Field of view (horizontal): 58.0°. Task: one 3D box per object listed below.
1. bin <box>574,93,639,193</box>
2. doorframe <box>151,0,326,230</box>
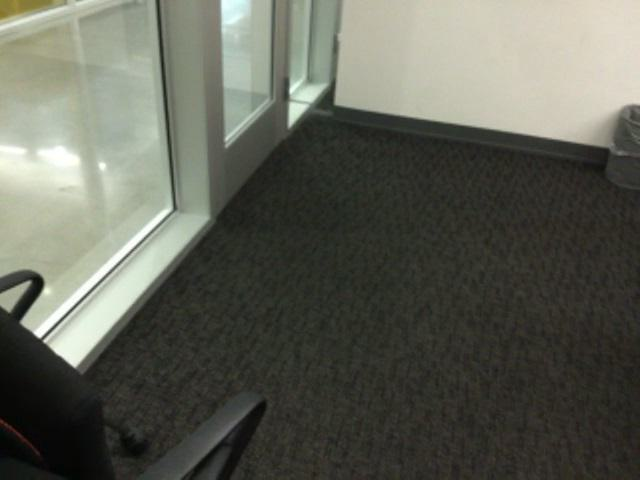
[{"bbox_3d":[1.480,-0.450,2.710,0.450,0.360,0.280,9,33,15],"label":"bin"},{"bbox_3d":[-0.270,-0.730,2.450,0.330,1.030,0.910,9,33,15],"label":"doorframe"}]
